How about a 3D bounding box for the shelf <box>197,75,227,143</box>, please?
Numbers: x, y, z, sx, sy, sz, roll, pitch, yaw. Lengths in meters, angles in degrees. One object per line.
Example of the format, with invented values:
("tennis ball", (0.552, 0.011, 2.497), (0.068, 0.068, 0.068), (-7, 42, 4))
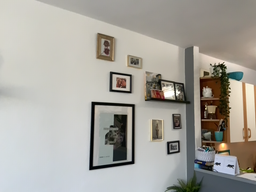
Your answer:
("shelf", (0.950, 0.150, 2.430), (0.110, 0.740, 0.300), (7, -8, -36))
